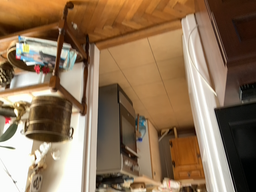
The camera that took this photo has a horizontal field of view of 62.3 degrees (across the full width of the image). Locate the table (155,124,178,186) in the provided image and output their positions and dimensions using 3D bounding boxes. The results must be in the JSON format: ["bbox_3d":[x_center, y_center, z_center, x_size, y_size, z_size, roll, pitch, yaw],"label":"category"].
[{"bbox_3d":[0.600,0.920,3.340,0.210,0.880,0.330,-11,151,16],"label":"table"}]

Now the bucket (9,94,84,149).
[{"bbox_3d":[-0.420,0.150,1.150,0.260,0.190,0.250,-9,152,13],"label":"bucket"}]
